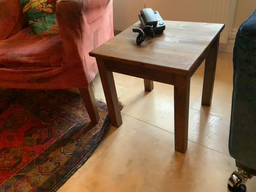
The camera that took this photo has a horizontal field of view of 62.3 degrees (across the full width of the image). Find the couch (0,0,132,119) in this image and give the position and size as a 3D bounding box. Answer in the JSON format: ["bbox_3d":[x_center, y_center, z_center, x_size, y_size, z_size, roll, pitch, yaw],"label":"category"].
[{"bbox_3d":[-0.510,-0.530,1.200,0.840,0.970,0.860,0,37,12],"label":"couch"}]
